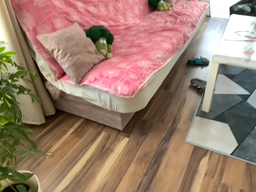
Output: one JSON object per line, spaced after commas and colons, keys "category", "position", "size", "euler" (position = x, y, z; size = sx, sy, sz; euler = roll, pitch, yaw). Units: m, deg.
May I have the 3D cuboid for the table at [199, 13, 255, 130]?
{"category": "table", "position": [1.000, -0.250, 1.650], "size": [0.580, 0.460, 1.010], "euler": [16, 40, 23]}
